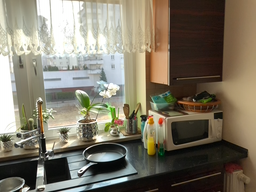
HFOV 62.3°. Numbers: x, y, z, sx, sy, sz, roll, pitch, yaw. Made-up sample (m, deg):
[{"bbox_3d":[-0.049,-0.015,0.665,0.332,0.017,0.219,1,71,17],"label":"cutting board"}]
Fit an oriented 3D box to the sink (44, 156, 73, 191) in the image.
[{"bbox_3d":[-0.490,0.590,1.480,0.160,0.150,0.440,-5,10,-20],"label":"sink"}]
